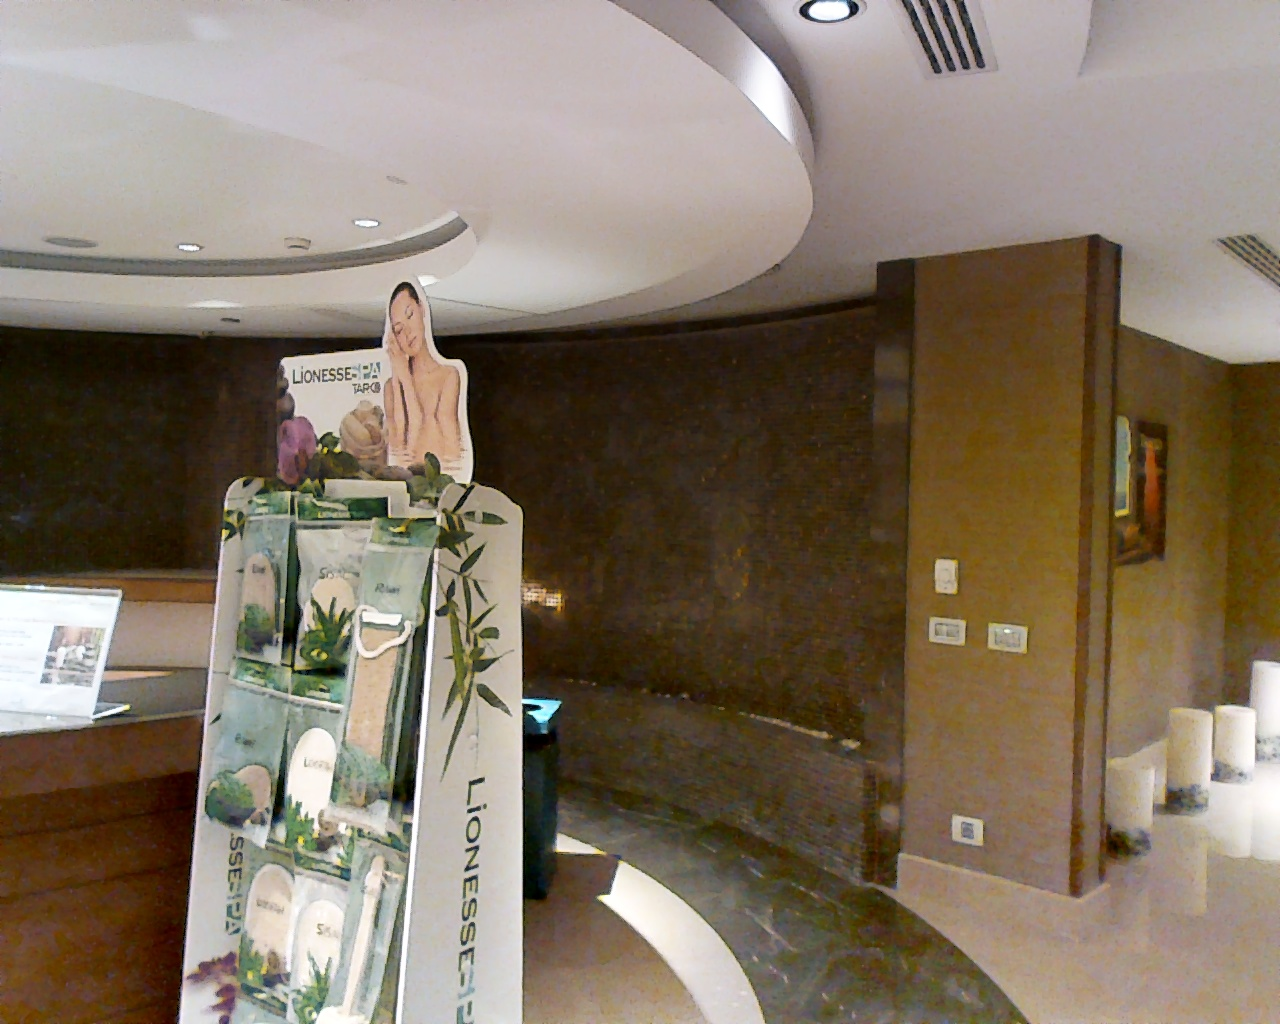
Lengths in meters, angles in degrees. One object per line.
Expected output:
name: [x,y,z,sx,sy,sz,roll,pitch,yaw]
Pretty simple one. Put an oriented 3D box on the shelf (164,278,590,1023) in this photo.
shelf: [-0.480,0.620,1.870,0.670,1.900,0.390,1,1,42]
